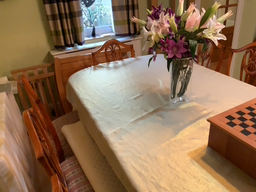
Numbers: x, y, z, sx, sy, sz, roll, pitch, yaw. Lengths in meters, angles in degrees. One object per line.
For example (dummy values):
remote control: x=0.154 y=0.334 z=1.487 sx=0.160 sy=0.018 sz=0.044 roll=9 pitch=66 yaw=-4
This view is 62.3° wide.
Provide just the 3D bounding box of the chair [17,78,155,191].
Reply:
chair: x=-0.210 y=0.450 z=1.250 sx=0.560 sy=0.890 sz=0.490 roll=-16 pitch=30 yaw=-21
